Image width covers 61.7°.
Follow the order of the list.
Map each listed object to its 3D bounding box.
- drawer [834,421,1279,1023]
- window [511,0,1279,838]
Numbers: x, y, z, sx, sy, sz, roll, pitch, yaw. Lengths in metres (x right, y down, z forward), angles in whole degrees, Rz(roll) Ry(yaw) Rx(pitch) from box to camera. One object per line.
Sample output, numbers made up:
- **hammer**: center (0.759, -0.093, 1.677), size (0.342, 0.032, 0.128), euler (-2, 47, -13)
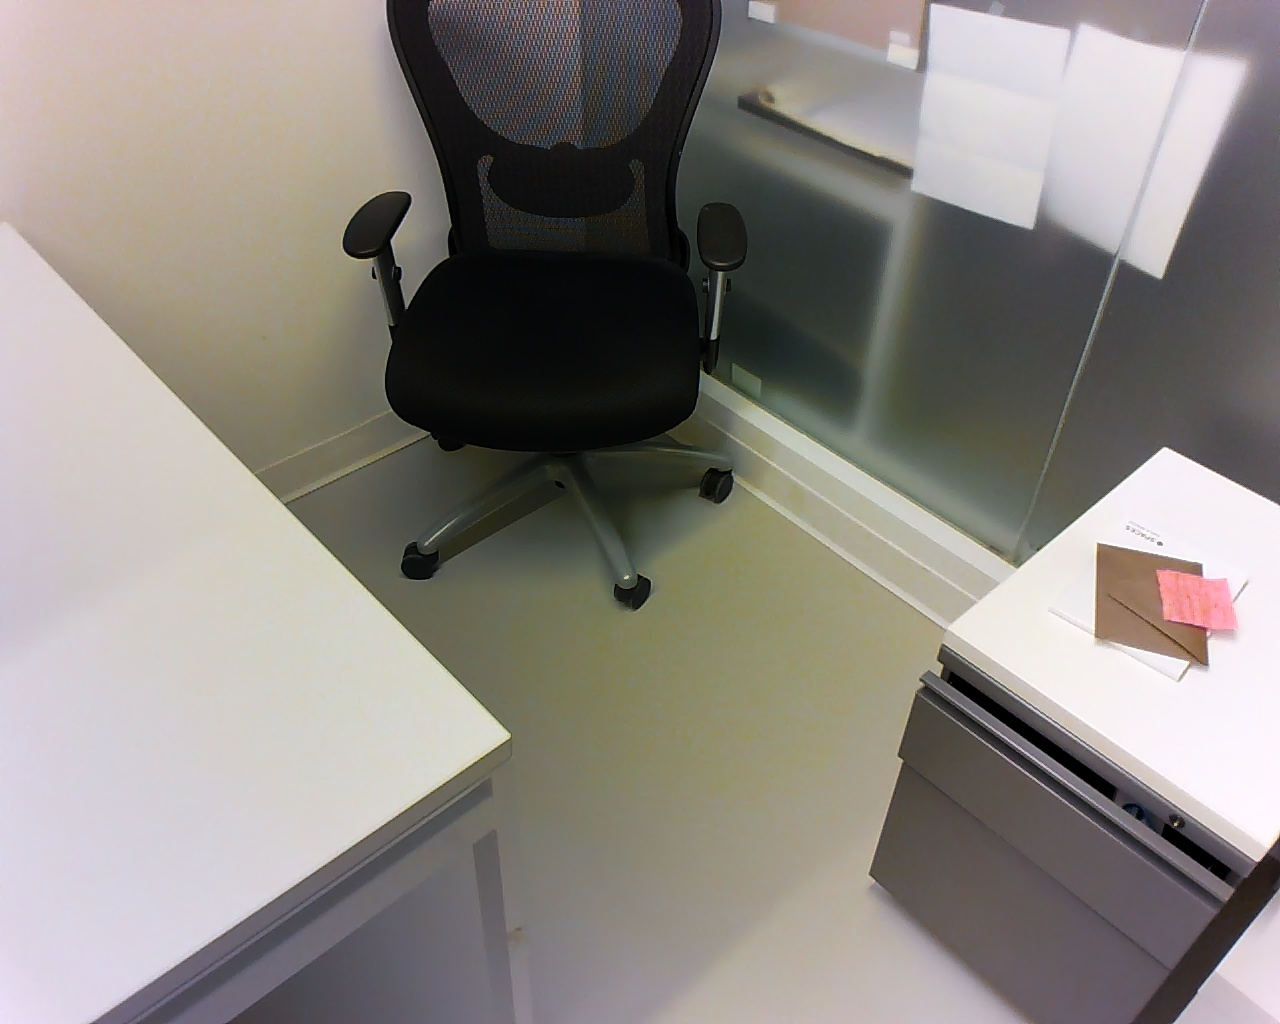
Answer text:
- **drawer**: center (0.640, 0.320, 1.420), size (0.540, 0.580, 0.440), euler (-31, 51, -30)
- **window**: center (0.620, -0.910, 1.040), size (0.110, 2.910, 2.470), euler (-31, 51, -30)
